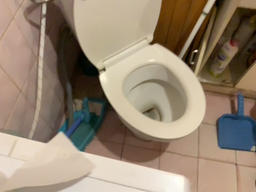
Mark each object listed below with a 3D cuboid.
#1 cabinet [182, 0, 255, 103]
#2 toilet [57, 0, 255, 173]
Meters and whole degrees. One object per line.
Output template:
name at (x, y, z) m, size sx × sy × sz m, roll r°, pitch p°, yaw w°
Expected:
cabinet at (0.620, -0.300, 1.070) m, size 0.490 × 0.720 × 0.320 m, roll 10°, pitch 62°, yaw 3°
toilet at (0.050, -0.130, 0.920) m, size 0.380 × 0.810 × 0.670 m, roll -28°, pitch 66°, yaw -16°
